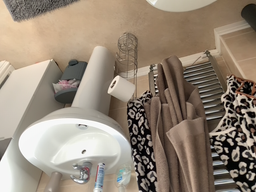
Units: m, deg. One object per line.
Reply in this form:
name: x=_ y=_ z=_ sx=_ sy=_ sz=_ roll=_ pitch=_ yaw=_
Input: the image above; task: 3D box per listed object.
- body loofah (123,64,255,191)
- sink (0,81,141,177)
body loofah: x=0.320 y=0.280 z=0.850 sx=0.620 sy=0.790 sz=0.280 roll=-11 pitch=132 yaw=11
sink: x=-0.270 y=0.200 z=1.080 sx=0.570 sy=0.170 sz=0.430 roll=-12 pitch=132 yaw=13
